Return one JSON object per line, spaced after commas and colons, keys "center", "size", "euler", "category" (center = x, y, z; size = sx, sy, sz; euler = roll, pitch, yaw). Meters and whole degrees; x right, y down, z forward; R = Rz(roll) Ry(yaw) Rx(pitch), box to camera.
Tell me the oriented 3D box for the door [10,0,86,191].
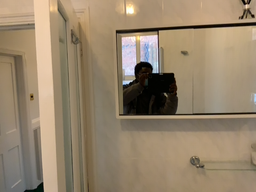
{"center": [-0.230, 0.610, 0.890], "size": [0.050, 1.910, 0.730], "euler": [-3, 6, -6], "category": "door"}
